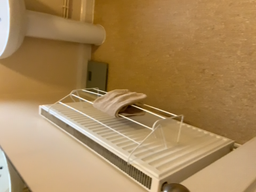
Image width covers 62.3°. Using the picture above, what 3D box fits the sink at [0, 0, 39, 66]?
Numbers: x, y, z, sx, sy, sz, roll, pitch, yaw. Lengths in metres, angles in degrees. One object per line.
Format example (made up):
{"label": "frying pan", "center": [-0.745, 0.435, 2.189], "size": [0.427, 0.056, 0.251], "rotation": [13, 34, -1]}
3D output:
{"label": "sink", "center": [-0.780, -0.500, 1.410], "size": [0.450, 0.190, 0.540], "rotation": [18, 106, 44]}
